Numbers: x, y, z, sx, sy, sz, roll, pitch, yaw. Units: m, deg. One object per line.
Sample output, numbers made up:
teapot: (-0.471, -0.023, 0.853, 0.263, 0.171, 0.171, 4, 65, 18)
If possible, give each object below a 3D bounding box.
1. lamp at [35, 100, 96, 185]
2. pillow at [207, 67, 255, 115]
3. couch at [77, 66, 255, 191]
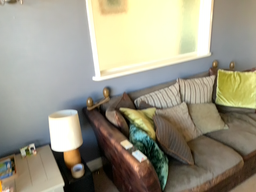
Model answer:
lamp: (-0.530, 0.370, 1.810, 0.320, 0.510, 0.400, -17, 26, -29)
pillow: (1.270, -0.060, 2.570, 0.450, 0.430, 0.200, 20, 40, 14)
couch: (0.710, 0.350, 2.210, 2.090, 0.760, 1.050, -17, 26, -28)
